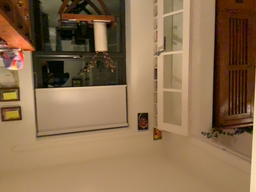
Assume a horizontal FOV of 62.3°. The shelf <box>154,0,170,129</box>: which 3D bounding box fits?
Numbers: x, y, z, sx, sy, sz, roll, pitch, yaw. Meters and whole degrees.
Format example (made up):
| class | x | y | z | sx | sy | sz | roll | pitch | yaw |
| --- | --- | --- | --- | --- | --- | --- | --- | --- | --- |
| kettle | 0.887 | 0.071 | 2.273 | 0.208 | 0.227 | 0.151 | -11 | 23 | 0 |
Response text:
| class | x | y | z | sx | sy | sz | roll | pitch | yaw |
| --- | --- | --- | --- | --- | --- | --- | --- | --- | --- |
| shelf | 0.430 | -0.580 | 2.730 | 0.120 | 2.010 | 0.200 | -3 | -173 | -19 |
